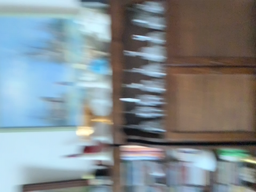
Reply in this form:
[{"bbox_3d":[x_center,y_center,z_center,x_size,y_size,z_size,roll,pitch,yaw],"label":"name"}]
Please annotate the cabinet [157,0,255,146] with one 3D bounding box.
[{"bbox_3d":[0.430,-0.150,1.140,0.280,0.500,0.760,-140,50,-86],"label":"cabinet"}]
